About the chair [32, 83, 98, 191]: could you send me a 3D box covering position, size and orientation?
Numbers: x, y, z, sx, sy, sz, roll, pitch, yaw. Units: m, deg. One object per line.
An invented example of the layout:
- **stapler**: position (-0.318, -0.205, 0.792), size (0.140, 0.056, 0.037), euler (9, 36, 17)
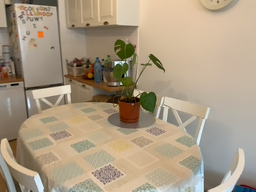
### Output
- **chair**: position (-0.630, 0.380, 2.150), size (0.410, 0.900, 0.510), euler (-13, 20, -42)

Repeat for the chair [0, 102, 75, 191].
- **chair**: position (-0.710, 0.550, 1.540), size (0.510, 0.880, 0.400), euler (-9, 18, -34)
